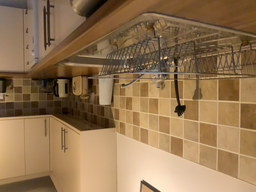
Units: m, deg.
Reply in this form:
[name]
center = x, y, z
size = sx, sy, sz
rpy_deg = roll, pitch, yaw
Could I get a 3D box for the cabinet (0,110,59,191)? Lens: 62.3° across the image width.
[cabinet]
center = -1.410, 0.630, 2.490
size = 1.090, 0.840, 0.300
rpy_deg = -1, -177, -30
